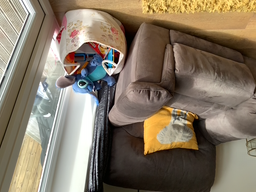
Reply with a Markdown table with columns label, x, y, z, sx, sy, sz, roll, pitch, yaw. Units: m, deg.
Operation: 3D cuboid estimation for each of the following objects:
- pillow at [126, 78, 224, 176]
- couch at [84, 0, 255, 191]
| label | x | y | z | sx | sy | sz | roll | pitch | yaw |
| --- | --- | --- | --- | --- | --- | --- | --- | --- | --- |
| pillow | 0.370 | 0.240 | 1.700 | 0.600 | 0.460 | 0.190 | 41 | 162 | 0 |
| couch | 0.430 | 0.150 | 1.640 | 1.220 | 1.020 | 0.930 | 13 | 150 | -18 |
